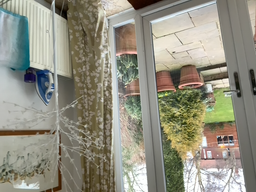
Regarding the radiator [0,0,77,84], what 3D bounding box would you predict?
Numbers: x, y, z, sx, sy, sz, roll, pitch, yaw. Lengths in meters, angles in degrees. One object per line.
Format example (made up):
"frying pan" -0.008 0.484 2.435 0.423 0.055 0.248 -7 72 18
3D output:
"radiator" -0.810 -0.480 1.860 0.160 0.570 0.910 -8 169 24
